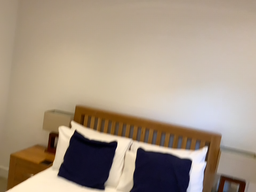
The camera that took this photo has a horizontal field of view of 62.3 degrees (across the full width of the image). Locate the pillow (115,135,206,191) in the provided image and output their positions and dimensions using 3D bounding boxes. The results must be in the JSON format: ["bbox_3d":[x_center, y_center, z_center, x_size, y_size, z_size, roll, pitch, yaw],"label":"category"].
[{"bbox_3d":[0.250,0.650,1.630,0.490,0.440,0.270,36,16,16],"label":"pillow"}]

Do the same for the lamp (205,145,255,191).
[{"bbox_3d":[0.900,0.700,1.850,0.330,0.440,0.180,11,5,14],"label":"lamp"}]

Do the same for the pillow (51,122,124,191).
[{"bbox_3d":[-0.340,0.520,1.760,0.480,0.390,0.110,33,15,7],"label":"pillow"}]
